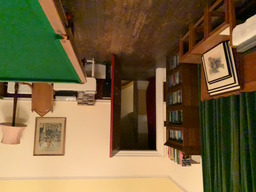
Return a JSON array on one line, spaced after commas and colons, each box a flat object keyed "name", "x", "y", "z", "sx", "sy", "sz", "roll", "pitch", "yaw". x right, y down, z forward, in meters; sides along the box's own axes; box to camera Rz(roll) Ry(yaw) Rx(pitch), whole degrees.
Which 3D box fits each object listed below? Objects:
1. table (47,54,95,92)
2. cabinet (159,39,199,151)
[{"name": "table", "x": -1.290, "y": -0.510, "z": 4.950, "sx": 0.980, "sy": 0.740, "sz": 0.620, "roll": 2, "pitch": 174, "yaw": -7}, {"name": "cabinet", "x": 0.910, "y": 0.020, "z": 3.990, "sx": 0.380, "sy": 1.860, "sz": 0.950, "roll": 2, "pitch": 174, "yaw": -8}]
